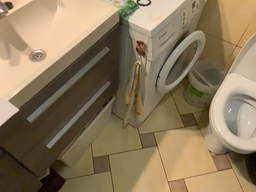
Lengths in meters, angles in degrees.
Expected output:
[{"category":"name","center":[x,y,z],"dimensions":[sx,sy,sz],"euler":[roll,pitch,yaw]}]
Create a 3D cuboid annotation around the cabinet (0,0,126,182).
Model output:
[{"category":"cabinet","center":[-0.370,-0.070,0.950],"dimensions":[0.430,0.500,0.620],"euler":[30,59,16]}]
